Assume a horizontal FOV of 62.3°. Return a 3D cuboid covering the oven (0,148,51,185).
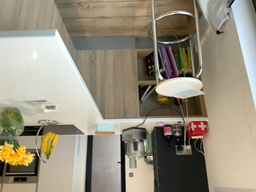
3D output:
[{"bbox_3d":[-1.930,1.350,4.080,0.630,0.620,0.610,-2,161,1],"label":"oven"}]
